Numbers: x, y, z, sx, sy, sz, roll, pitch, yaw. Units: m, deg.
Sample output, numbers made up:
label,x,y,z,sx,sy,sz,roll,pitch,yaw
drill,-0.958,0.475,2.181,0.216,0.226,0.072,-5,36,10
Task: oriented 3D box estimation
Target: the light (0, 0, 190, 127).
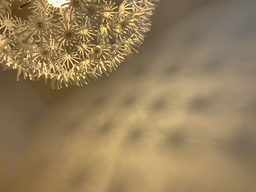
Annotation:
label,x,y,z,sx,sy,sz,roll,pitch,yaw
light,-0.730,-0.530,1.330,1.840,0.970,1.060,-6,42,33
